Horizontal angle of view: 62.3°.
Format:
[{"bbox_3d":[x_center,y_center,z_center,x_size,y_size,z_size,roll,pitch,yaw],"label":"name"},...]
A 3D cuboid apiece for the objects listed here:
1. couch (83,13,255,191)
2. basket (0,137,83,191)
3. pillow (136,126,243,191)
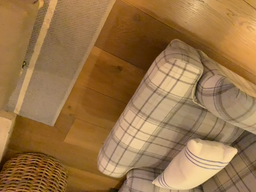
[{"bbox_3d":[0.420,0.340,1.180,1.050,0.920,0.900,22,124,-17],"label":"couch"},{"bbox_3d":[-0.820,0.810,1.750,0.630,0.500,0.590,24,123,-19],"label":"basket"},{"bbox_3d":[0.290,0.400,1.120,0.320,0.120,0.480,18,125,-14],"label":"pillow"}]
